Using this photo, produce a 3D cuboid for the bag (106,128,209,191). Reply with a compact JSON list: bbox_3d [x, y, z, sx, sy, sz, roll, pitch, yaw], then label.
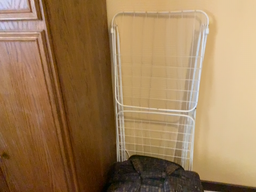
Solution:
[{"bbox_3d":[0.170,0.570,1.250,0.470,0.460,0.600,3,27,9],"label":"bag"}]
